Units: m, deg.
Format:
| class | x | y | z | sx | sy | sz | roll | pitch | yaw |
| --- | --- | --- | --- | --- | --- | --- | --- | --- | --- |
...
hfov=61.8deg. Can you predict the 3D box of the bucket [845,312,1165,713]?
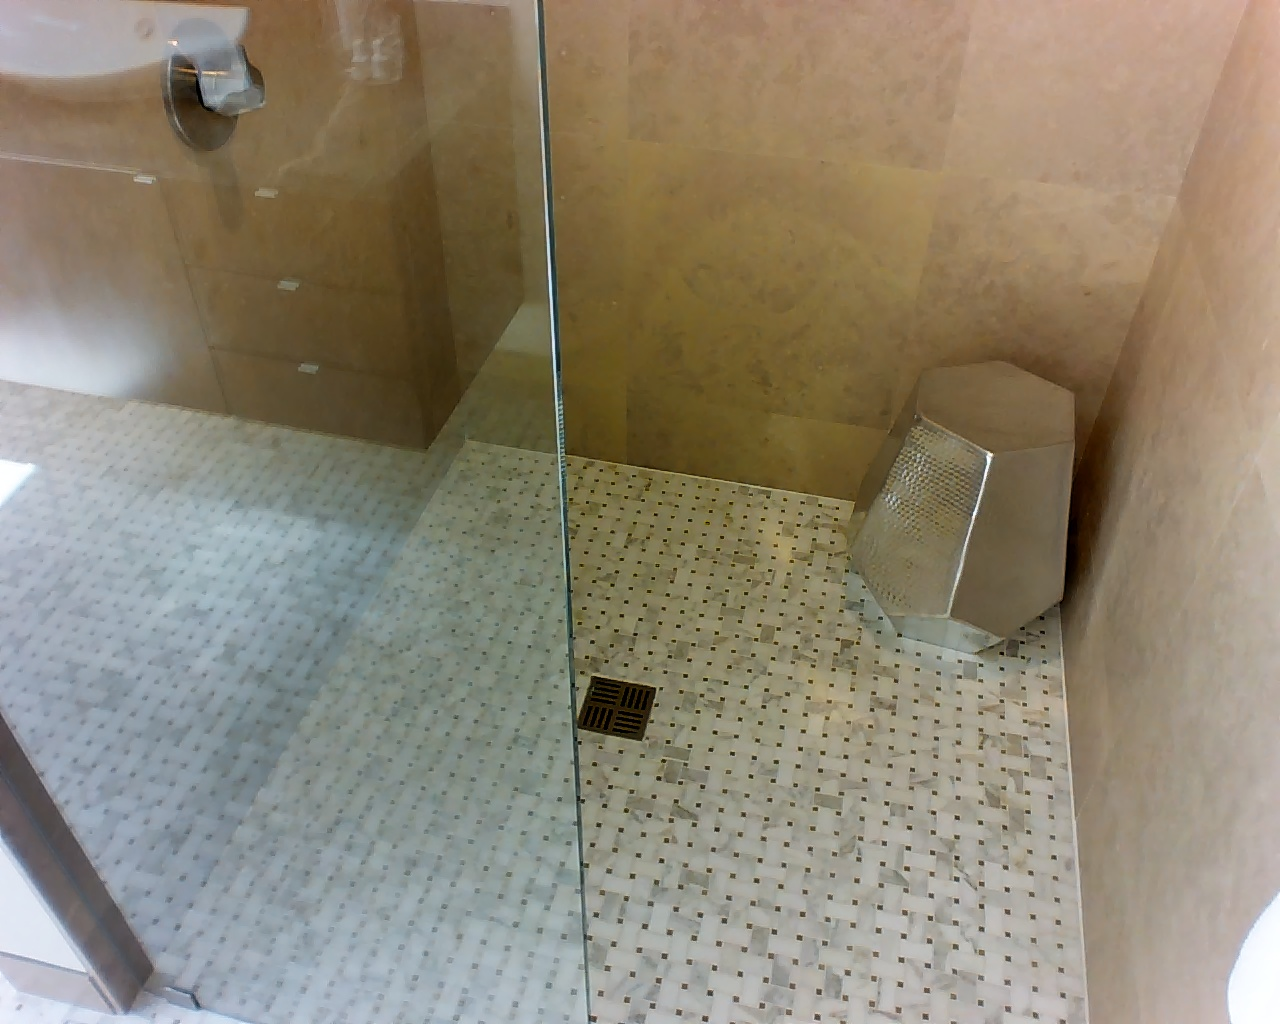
| class | x | y | z | sx | sy | sz | roll | pitch | yaw |
| --- | --- | --- | --- | --- | --- | --- | --- | --- | --- |
| bucket | 0.700 | -0.010 | 2.160 | 0.450 | 0.530 | 0.530 | 9 | 42 | 10 |
